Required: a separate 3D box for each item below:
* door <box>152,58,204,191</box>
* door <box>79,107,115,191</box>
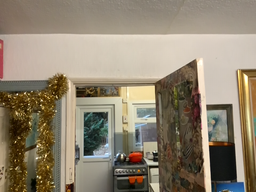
[{"bbox_3d":[0.330,0.810,1.490,0.030,1.940,0.890,-1,-7,-7],"label":"door"},{"bbox_3d":[-0.650,1.180,4.360,0.710,1.870,0.050,-1,-7,-2],"label":"door"}]
